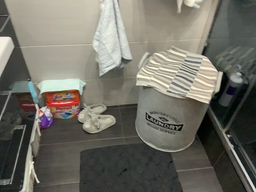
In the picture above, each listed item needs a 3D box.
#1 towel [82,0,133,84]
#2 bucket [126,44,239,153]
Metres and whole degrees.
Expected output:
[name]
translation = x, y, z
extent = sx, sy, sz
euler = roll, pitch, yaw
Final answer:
[towel]
translation = -0.110, -0.360, 1.270
extent = 0.250, 0.590, 0.180
euler = 2, 45, -1
[bucket]
translation = 0.290, 0.020, 1.490
extent = 0.550, 0.590, 0.480
euler = -1, 45, -5
